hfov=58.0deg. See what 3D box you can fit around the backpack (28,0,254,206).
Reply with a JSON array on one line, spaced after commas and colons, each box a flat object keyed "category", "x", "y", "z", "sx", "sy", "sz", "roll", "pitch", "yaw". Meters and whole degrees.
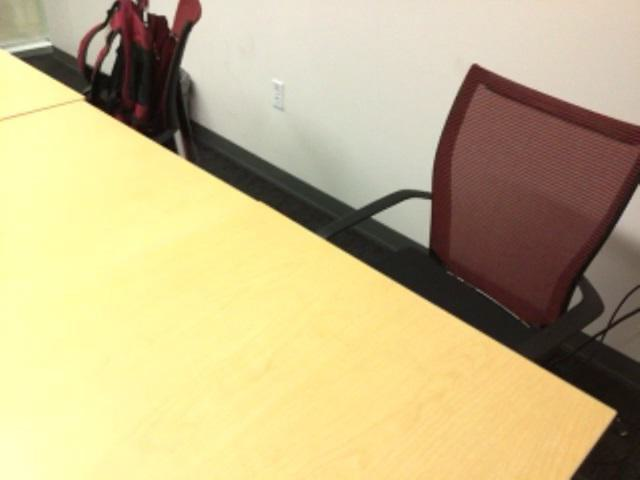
[{"category": "backpack", "x": -0.520, "y": -0.480, "z": 1.750, "sx": 0.450, "sy": 0.490, "sz": 0.460, "roll": -25, "pitch": 44, "yaw": -35}]
